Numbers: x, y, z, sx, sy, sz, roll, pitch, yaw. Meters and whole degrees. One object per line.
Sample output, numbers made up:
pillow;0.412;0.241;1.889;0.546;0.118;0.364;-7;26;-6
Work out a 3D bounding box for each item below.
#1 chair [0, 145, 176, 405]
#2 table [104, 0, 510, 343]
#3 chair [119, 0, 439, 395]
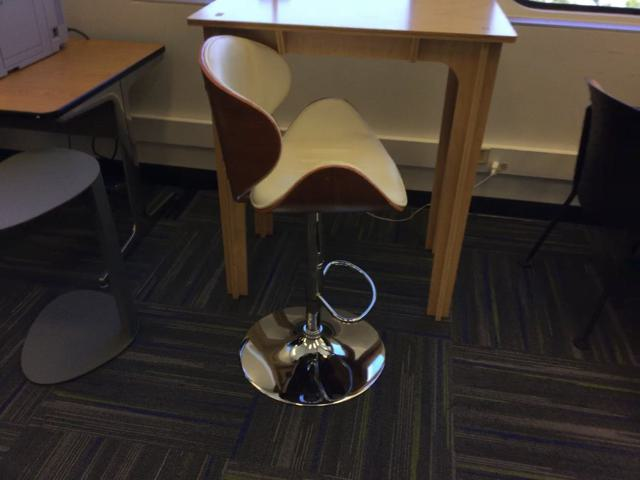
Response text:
chair;-0.820;0.090;1.810;0.420;0.630;0.470;2;32;16
table;0.070;-0.360;2.100;1.120;1.150;0.730;2;32;16
chair;-0.010;-0.140;1.660;0.630;0.890;0.620;3;32;16
